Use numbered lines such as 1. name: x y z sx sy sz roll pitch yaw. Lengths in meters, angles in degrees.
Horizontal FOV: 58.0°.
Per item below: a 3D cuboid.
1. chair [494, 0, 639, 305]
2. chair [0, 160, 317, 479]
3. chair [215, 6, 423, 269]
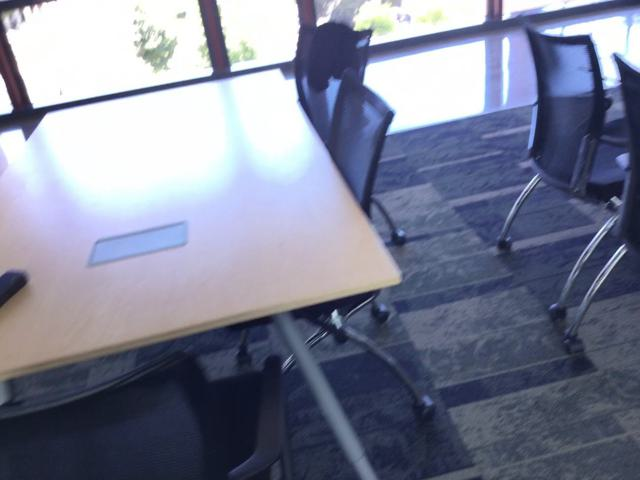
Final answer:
1. chair: 0.980 -0.340 1.970 0.580 0.890 0.510 -11 29 -4
2. chair: -0.340 0.420 1.120 0.570 0.910 0.600 -9 29 1
3. chair: 0.020 -0.460 2.450 0.520 0.890 0.580 -26 33 -28
